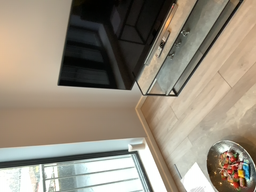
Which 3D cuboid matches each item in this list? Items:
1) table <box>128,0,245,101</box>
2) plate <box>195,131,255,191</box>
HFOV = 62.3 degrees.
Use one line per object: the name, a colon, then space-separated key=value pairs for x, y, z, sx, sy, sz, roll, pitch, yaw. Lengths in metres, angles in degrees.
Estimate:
table: x=0.430 y=-0.460 z=1.900 sx=1.070 sy=0.420 sz=0.360 roll=-64 pitch=36 yaw=38
plate: x=0.540 y=0.430 z=1.150 sx=0.310 sy=0.040 sz=0.370 roll=44 pitch=127 yaw=55
